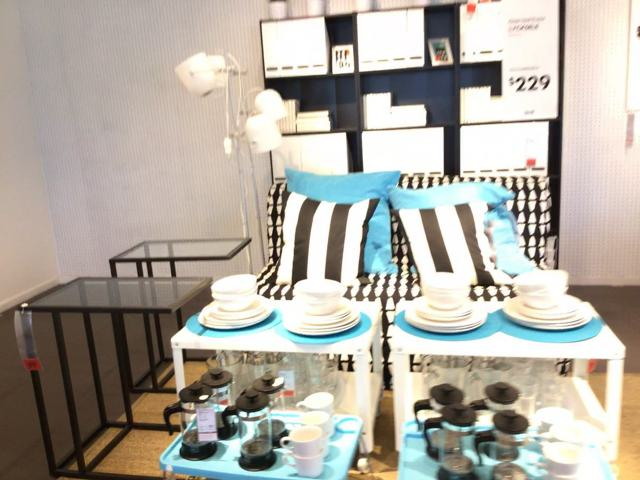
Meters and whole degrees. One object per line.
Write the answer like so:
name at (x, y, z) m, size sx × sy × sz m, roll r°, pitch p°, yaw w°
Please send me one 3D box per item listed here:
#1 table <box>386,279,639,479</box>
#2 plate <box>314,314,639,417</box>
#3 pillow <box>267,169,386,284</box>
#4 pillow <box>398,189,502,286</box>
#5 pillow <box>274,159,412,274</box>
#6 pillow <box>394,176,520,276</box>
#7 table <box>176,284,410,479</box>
table at (0.660, 0.470, 2.080) m, size 0.780 × 0.550 × 0.570 m, roll -1°, pitch 7°, yaw 11°
plate at (1.000, 0.480, 2.290) m, size 2.010 × 0.310 × 0.380 m, roll -1°, pitch 2°, yaw 7°
pillow at (0.040, -0.050, 2.650) m, size 0.500 × 0.480 × 0.240 m, roll -1°, pitch -9°, yaw 11°
pillow at (0.560, 0.000, 2.560) m, size 0.420 × 0.390 × 0.240 m, roll -1°, pitch -10°, yaw 8°
pillow at (0.120, -0.100, 2.910) m, size 0.660 × 0.540 × 0.250 m, roll -1°, pitch -4°, yaw 11°
pillow at (0.640, -0.060, 2.780) m, size 0.560 × 0.440 × 0.220 m, roll 0°, pitch -10°, yaw 7°
table at (-0.060, 0.490, 2.170) m, size 0.760 × 0.560 × 0.490 m, roll -1°, pitch 7°, yaw 11°
